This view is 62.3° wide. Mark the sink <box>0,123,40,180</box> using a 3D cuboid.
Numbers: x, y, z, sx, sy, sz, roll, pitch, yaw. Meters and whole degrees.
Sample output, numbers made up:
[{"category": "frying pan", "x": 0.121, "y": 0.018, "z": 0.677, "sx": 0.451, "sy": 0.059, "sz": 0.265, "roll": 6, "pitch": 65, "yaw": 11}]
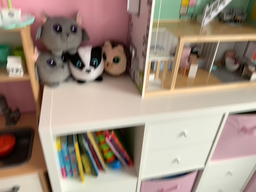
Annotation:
[{"category": "sink", "x": -0.530, "y": 0.240, "z": 0.930, "sx": 0.240, "sy": 0.080, "sz": 0.230, "roll": -6, "pitch": 35, "yaw": -14}]
